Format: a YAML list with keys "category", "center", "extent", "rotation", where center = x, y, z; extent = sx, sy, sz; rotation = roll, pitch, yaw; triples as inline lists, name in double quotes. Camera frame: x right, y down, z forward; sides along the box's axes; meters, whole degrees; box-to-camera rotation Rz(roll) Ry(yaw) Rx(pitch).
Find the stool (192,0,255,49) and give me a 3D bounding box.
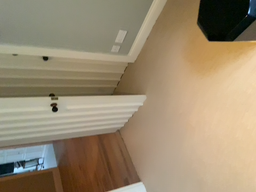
- category: "stool"
  center: [0.630, -0.440, 1.180]
  extent: [0.290, 0.440, 0.290]
  rotation: [11, 101, 57]
